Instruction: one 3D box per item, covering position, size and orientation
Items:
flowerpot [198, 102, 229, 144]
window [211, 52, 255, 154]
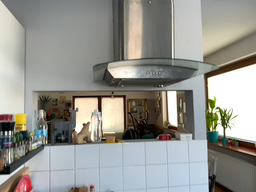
[{"bbox_3d":[1.890,0.570,4.720,0.340,0.850,0.630,0,-3,-9],"label":"flowerpot"},{"bbox_3d":[2.120,0.150,4.240,0.130,1.730,1.420,0,-3,-9],"label":"window"}]
